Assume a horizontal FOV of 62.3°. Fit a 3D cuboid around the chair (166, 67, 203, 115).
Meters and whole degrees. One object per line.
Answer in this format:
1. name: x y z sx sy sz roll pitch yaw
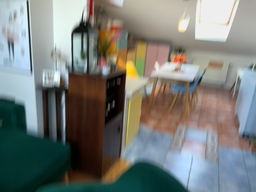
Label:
1. chair: 1.120 -0.120 4.220 0.540 0.790 0.460 12 20 20
